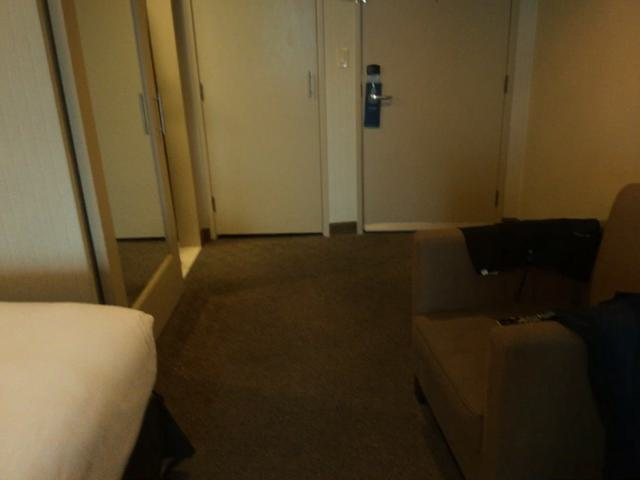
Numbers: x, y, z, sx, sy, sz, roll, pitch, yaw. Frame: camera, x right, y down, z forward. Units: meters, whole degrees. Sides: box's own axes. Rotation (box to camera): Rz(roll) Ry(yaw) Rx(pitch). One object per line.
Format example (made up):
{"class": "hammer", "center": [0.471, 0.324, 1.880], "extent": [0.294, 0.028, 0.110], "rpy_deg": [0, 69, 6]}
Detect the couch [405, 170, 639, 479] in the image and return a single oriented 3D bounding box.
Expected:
{"class": "couch", "center": [0.760, 0.310, 1.810], "extent": [0.890, 0.850, 0.850], "rpy_deg": [-2, 20, 3]}

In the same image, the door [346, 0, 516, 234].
{"class": "door", "center": [0.670, -1.030, 3.630], "extent": [0.970, 1.960, 0.300], "rpy_deg": [-2, 20, 2]}

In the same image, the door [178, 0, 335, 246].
{"class": "door", "center": [-0.370, -0.970, 3.580], "extent": [0.850, 2.050, 0.180], "rpy_deg": [-2, 20, 2]}

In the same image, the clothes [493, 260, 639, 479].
{"class": "clothes", "center": [0.730, 0.470, 1.530], "extent": [0.390, 0.710, 0.440], "rpy_deg": [-2, 20, 3]}

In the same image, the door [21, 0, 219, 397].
{"class": "door", "center": [-0.770, -0.450, 2.480], "extent": [0.270, 1.930, 1.020], "rpy_deg": [-2, 20, 3]}
